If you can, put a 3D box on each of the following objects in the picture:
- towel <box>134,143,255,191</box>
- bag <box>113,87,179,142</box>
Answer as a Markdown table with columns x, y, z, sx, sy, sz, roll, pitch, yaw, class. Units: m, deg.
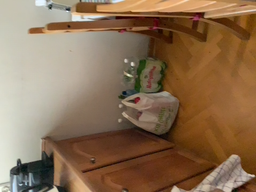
| x | y | z | sx | sy | sz | roll | pitch | yaw | class |
| --- | --- | --- | --- | --- | --- | --- | --- | --- | --- |
| 0.390 | 0.390 | 1.010 | 0.220 | 0.750 | 0.140 | 18 | 106 | 51 | towel |
| 0.130 | 0.120 | 1.630 | 0.310 | 0.350 | 0.310 | 23 | 110 | 50 | bag |
